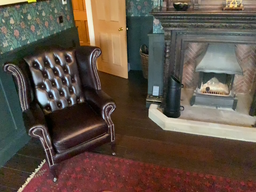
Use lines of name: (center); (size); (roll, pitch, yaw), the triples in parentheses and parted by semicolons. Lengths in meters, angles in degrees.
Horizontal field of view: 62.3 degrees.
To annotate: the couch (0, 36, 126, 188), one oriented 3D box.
couch: (-0.620, 0.070, 2.150); (0.850, 1.060, 0.840); (-19, 33, -29)
